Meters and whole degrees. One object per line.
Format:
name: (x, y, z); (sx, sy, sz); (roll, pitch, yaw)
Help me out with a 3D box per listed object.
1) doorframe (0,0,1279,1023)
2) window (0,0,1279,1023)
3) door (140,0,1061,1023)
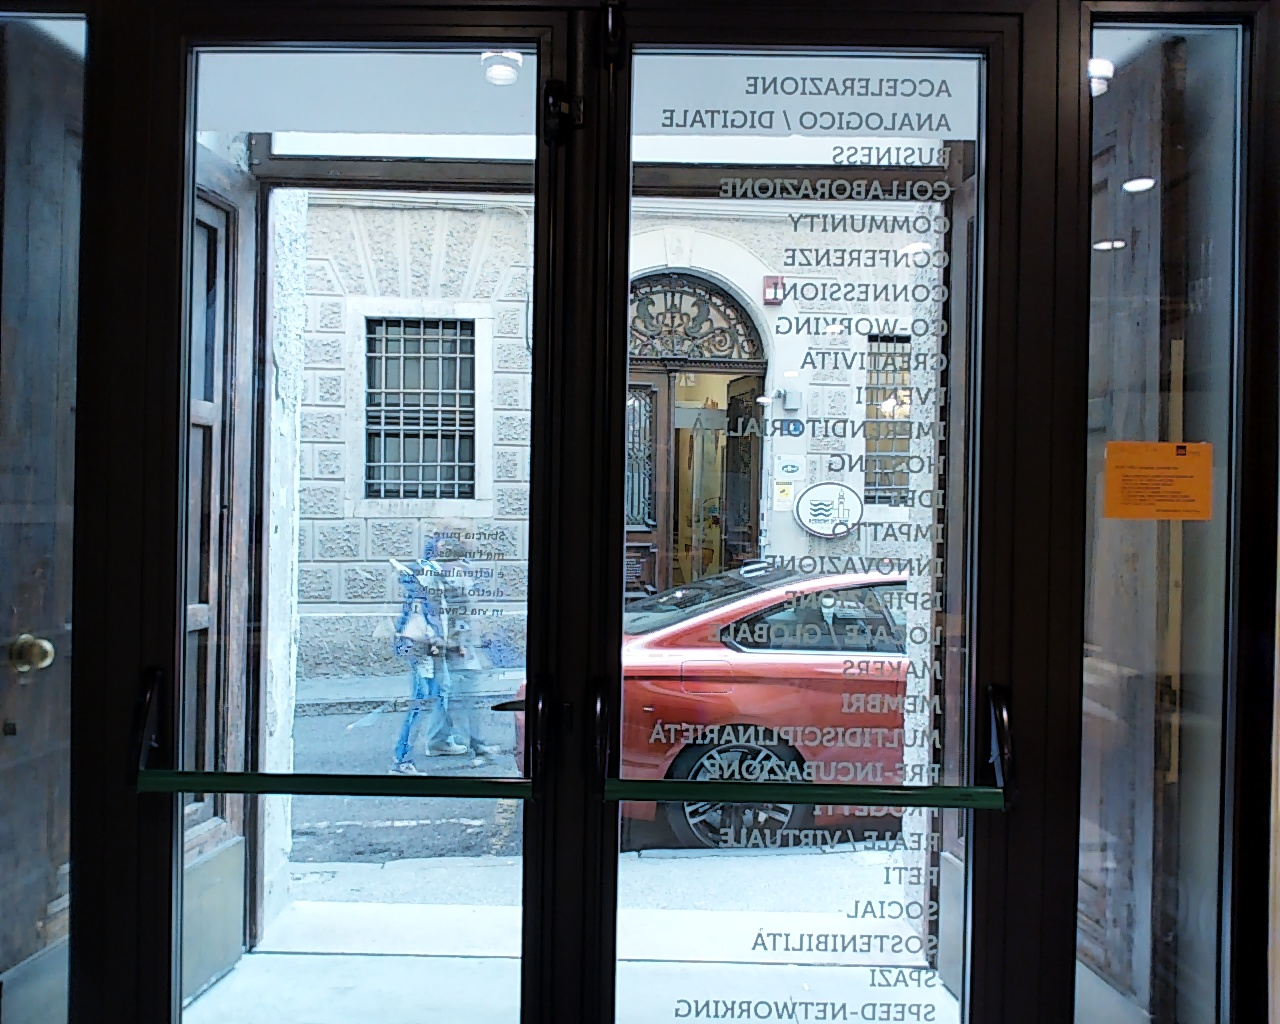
doorframe: (-0.260, 0.150, 2.650); (3.179, 2.601, 1.150); (1, 1, 0)
window: (0.010, 0.180, 2.150); (2.519, 2.541, 0.090); (1, 1, 0)
door: (-0.080, 0.160, 2.100); (1.680, 2.211, 0.190); (1, 1, 0)
